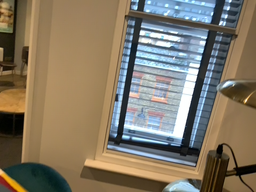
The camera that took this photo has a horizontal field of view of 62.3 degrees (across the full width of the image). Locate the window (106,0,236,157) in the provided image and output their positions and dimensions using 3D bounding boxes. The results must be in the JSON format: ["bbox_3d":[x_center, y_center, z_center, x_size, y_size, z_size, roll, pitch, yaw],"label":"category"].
[{"bbox_3d":[0.280,-0.340,1.350,0.620,1.460,0.070,11,13,2],"label":"window"}]
